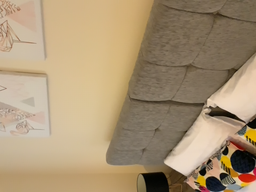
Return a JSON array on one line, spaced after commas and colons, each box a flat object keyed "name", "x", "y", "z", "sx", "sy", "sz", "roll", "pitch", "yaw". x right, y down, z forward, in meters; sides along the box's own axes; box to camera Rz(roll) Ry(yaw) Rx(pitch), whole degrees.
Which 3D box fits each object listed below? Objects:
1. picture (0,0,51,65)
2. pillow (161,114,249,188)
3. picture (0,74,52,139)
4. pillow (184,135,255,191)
[{"name": "picture", "x": -0.550, "y": -0.390, "z": 0.840, "sx": 0.040, "sy": 0.440, "sz": 0.590, "roll": -100, "pitch": 19, "yaw": -44}, {"name": "pillow", "x": 0.480, "y": 0.390, "z": 1.410, "sx": 0.080, "sy": 0.320, "sz": 0.640, "roll": 55, "pitch": 144, "yaw": 30}, {"name": "picture", "x": -0.700, "y": 0.100, "z": 1.350, "sx": 0.600, "sy": 0.390, "sz": 0.020, "roll": 107, "pitch": 161, "yaw": -44}, {"name": "pillow", "x": 0.590, "y": 0.510, "z": 1.350, "sx": 0.140, "sy": 0.220, "sz": 0.590, "roll": 52, "pitch": 142, "yaw": 32}]
